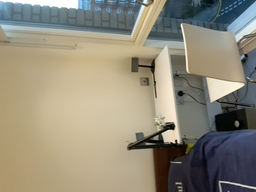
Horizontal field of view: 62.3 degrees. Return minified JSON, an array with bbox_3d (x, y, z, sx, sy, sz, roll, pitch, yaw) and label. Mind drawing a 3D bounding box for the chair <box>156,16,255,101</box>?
[{"bbox_3d":[0.710,-0.220,1.520,0.460,0.870,0.380,122,147,-68],"label":"chair"}]
